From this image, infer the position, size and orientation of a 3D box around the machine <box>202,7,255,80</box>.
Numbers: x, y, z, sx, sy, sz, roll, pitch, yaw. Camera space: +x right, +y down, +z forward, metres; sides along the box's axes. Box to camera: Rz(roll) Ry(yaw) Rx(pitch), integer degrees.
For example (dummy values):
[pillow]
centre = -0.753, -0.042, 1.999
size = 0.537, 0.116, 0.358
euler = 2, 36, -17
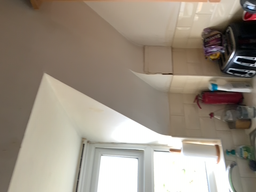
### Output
[machine]
centre = 0.660, -0.310, 1.300
size = 0.320, 0.280, 0.290
euler = 87, -174, -61

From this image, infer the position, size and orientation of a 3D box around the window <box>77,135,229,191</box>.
[window]
centre = 0.160, 0.760, 1.470
size = 0.190, 1.020, 0.910
euler = 87, -174, -60
